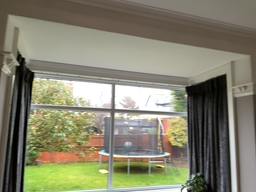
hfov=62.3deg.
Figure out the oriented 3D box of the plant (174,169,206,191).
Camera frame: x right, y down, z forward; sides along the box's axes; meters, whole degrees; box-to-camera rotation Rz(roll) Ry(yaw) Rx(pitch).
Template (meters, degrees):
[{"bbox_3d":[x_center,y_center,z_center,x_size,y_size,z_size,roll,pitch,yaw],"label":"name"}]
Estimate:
[{"bbox_3d":[0.880,1.360,3.020,0.310,0.550,0.330,4,-9,-18],"label":"plant"}]
